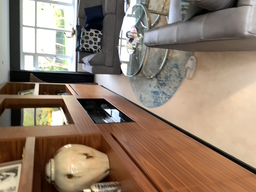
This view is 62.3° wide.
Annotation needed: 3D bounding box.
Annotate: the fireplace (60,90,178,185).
[{"bbox_3d":[-0.340,0.410,3.260,2.010,1.140,0.640,-153,66,-64],"label":"fireplace"}]
